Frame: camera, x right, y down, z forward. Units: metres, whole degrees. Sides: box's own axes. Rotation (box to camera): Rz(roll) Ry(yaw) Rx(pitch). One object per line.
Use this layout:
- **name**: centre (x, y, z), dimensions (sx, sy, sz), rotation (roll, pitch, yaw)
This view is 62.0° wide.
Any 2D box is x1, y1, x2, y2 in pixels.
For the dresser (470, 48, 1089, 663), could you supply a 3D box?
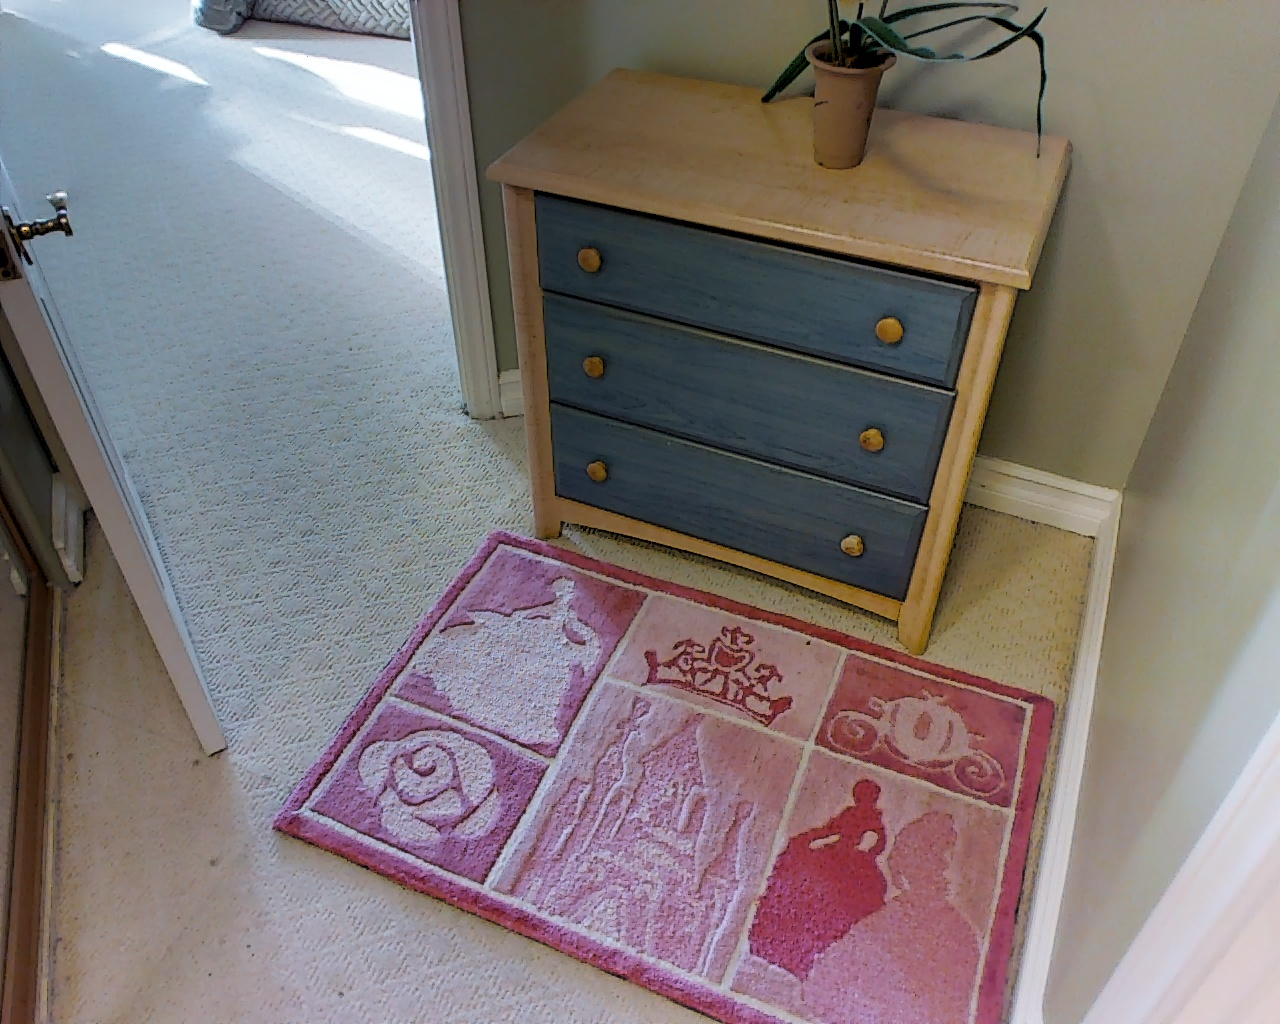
- **dresser**: centre (0.230, -0.290, 1.890), dimensions (0.830, 0.780, 0.500), rotation (16, 44, 18)
